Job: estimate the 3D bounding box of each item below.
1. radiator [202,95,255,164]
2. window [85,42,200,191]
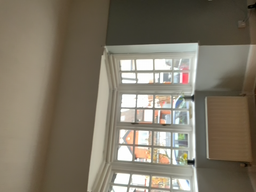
[{"bbox_3d":[1.340,0.430,2.850,0.130,0.610,0.870,57,-144,-71],"label":"radiator"},{"bbox_3d":[0.260,0.390,3.060,0.700,1.360,2.160,57,-144,-71],"label":"window"}]
